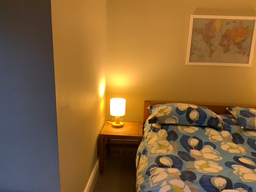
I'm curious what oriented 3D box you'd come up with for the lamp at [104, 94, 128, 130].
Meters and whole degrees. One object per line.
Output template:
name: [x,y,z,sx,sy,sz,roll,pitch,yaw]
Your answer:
lamp: [-0.130,0.170,2.420,0.230,0.310,0.320,3,14,2]
